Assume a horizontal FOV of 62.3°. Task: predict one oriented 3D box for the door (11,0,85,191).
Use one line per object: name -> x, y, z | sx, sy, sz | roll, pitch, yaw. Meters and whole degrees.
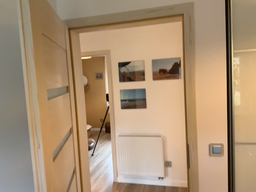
door -> -0.350, 0.470, 1.230 | 0.040, 2.040, 1.000 | -3, 5, -5
